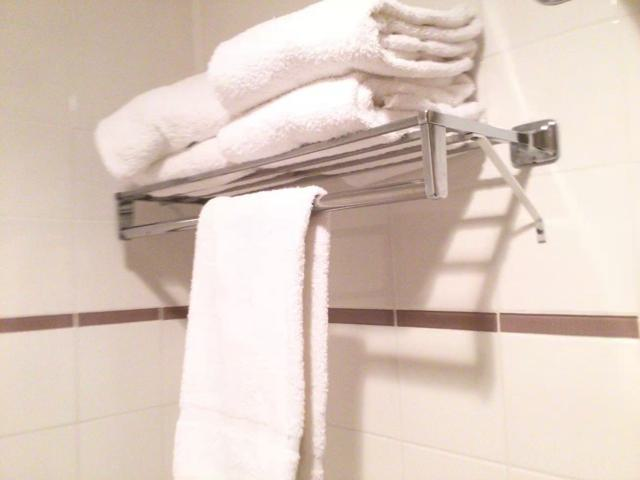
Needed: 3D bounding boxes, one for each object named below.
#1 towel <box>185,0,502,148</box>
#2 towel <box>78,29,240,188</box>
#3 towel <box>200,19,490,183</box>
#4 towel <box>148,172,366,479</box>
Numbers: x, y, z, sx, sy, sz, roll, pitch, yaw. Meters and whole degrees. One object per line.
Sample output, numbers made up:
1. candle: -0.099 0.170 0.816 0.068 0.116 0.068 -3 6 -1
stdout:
1. towel: 0.030 -0.210 0.660 0.240 0.140 0.270 -3 -3 44
2. towel: -0.220 -0.160 0.770 0.220 0.150 0.110 -3 -3 44
3. towel: 0.030 -0.140 0.680 0.240 0.100 0.240 -3 -3 44
4. towel: -0.080 0.140 0.670 0.230 0.400 0.130 -3 -3 44
